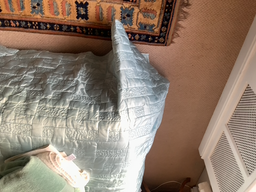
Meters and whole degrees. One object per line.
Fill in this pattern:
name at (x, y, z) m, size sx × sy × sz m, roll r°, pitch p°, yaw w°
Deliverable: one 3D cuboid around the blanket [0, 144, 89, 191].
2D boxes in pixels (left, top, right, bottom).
blanket at (-0.430, 0.450, 1.040) m, size 0.450 × 0.140 × 0.480 m, roll 6°, pitch 132°, yaw -4°
